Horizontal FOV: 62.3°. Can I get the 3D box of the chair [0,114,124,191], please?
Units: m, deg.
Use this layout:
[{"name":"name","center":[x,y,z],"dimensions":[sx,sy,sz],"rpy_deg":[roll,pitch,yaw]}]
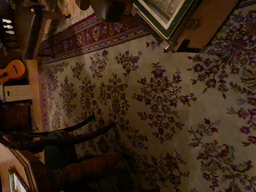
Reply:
[{"name":"chair","center":[-0.510,0.400,1.620],"dimensions":[0.410,0.830,0.390],"rpy_deg":[-11,86,51]}]
